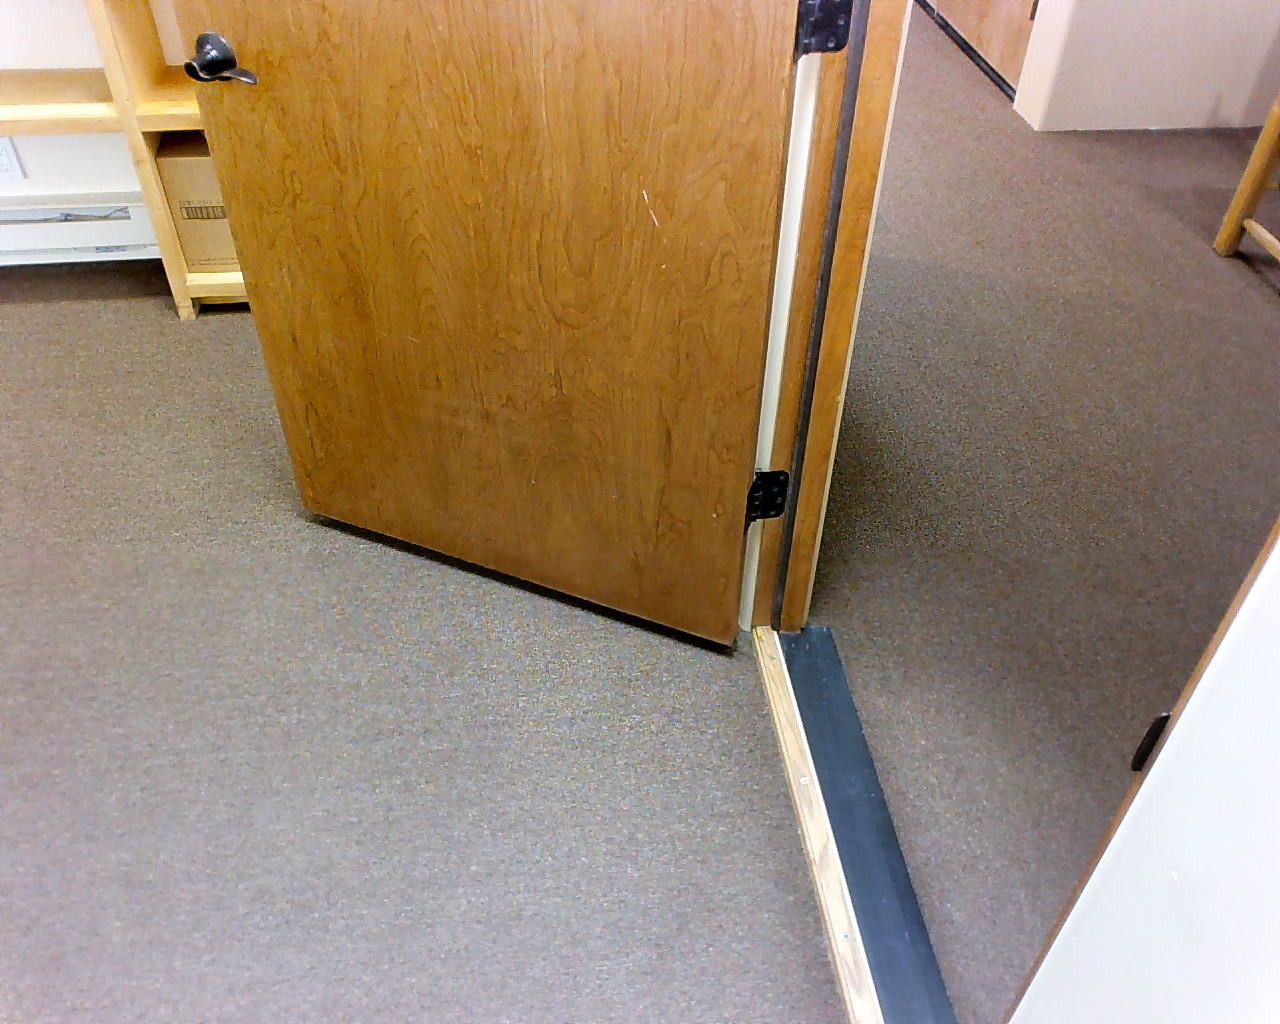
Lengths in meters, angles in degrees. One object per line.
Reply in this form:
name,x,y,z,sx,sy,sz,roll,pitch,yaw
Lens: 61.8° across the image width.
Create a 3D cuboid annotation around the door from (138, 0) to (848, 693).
door,-0.230,-0.610,1.320,0.960,2.040,0.070,17,44,17
